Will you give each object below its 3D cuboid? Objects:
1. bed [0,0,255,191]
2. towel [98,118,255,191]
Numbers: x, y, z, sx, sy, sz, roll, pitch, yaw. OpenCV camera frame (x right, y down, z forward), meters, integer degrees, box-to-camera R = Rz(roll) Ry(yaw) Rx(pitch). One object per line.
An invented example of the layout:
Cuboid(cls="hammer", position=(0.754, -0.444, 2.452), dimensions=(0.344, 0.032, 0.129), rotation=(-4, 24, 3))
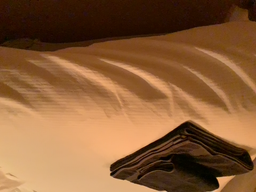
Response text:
Cuboid(cls="bed", position=(-0.430, 0.310, 1.480), dimensions=(2.190, 0.600, 1.730), rotation=(-1, 141, 7))
Cuboid(cls="towel", position=(0.170, 0.310, 0.880), dimensions=(0.330, 0.090, 0.590), rotation=(26, 137, -25))
